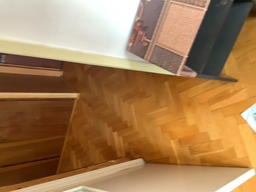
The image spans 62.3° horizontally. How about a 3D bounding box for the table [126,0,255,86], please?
[{"bbox_3d":[0.450,-0.530,1.060,0.350,0.620,0.860,35,115,43],"label":"table"}]
